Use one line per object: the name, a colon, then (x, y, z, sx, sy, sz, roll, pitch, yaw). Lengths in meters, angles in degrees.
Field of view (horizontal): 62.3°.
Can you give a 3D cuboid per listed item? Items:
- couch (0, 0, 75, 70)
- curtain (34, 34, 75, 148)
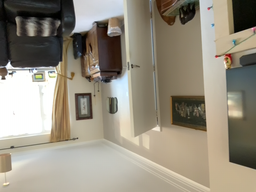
couch: (-1.560, -0.880, 2.590, 1.510, 0.990, 1.060, -4, -178, -28)
curtain: (-1.710, -0.120, 4.950, 0.690, 2.500, 0.410, -4, -179, -26)
